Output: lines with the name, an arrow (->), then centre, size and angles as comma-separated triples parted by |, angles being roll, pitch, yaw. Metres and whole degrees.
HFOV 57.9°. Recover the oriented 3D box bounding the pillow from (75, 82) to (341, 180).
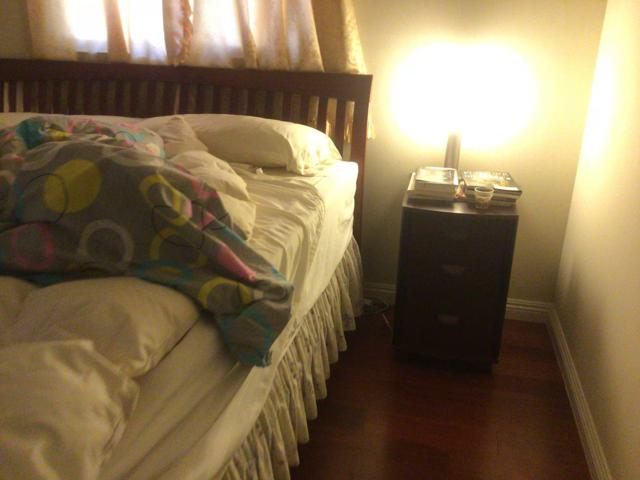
pillow -> -0.400, -0.460, 2.310 | 0.890, 0.250, 0.560 | 6, 19, 8
